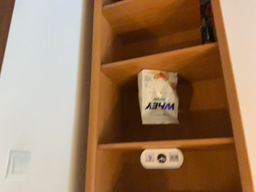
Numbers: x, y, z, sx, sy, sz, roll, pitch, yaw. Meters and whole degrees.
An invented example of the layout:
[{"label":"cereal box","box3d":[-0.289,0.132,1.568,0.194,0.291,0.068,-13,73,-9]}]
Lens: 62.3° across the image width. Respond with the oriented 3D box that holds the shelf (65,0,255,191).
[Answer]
[{"label":"shelf","box3d":[0.140,0.010,1.060,0.700,1.950,0.420,-8,160,21]}]
